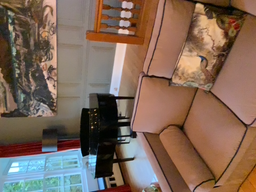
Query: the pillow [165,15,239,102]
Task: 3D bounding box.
[{"bbox_3d":[0.540,-0.280,1.580,0.170,0.360,0.580,36,127,27],"label":"pillow"}]
